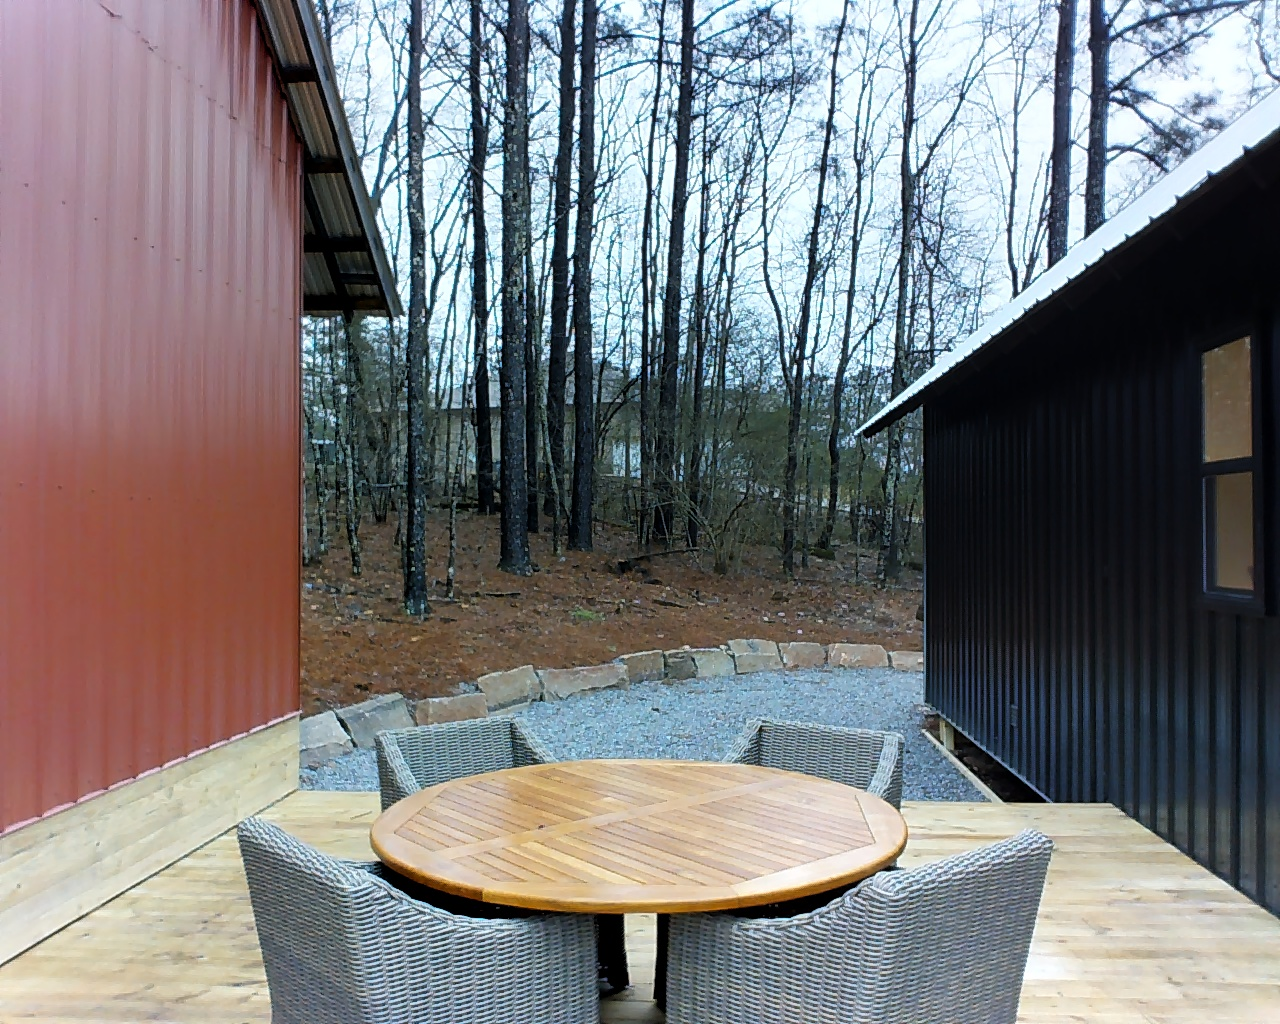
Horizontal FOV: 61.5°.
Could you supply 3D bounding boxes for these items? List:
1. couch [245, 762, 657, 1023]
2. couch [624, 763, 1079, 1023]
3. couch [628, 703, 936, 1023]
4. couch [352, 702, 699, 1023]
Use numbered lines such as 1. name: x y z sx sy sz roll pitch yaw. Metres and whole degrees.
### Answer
1. couch: -0.470 1.160 2.630 0.730 0.870 0.720 0 -1 -40
2. couch: 0.500 1.150 2.570 0.790 0.860 0.730 0 -1 -40
3. couch: 0.500 1.170 3.650 0.720 0.860 0.840 -1 -1 36
4. couch: -0.410 1.180 3.660 0.760 0.860 0.970 0 -1 -40
